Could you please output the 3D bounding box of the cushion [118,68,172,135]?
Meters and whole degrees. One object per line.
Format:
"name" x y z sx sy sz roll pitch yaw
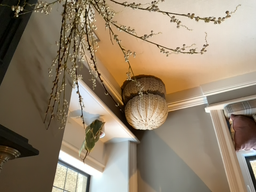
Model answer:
"cushion" 0.190 0.080 2.370 0.420 0.490 0.500 -15 142 19
